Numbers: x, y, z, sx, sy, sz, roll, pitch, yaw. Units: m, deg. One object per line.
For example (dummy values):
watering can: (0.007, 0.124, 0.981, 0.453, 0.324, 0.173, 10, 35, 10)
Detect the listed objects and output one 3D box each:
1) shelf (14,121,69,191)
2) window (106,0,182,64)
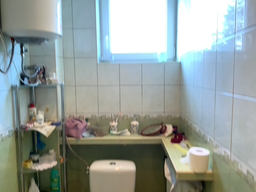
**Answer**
shelf: (-0.650, 0.750, 1.680, 0.280, 1.060, 0.300, 0, 6, 1)
window: (0.150, -0.660, 2.060, 0.710, 0.690, 0.080, 0, 6, 4)
